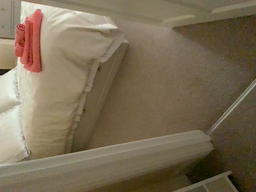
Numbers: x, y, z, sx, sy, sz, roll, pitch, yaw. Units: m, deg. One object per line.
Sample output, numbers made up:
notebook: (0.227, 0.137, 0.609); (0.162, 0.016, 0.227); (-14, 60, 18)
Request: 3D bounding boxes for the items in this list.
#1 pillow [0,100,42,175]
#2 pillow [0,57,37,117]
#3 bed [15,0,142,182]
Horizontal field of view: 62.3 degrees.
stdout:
pillow: (-1.350, 0.450, 2.400); (0.730, 0.400, 0.180); (48, 163, 25)
pillow: (-1.620, -0.140, 2.840); (0.750, 0.420, 0.190); (47, 162, 25)
bed: (-0.850, -0.280, 2.460); (1.530, 0.680, 2.090); (62, 140, 35)
